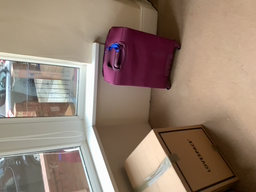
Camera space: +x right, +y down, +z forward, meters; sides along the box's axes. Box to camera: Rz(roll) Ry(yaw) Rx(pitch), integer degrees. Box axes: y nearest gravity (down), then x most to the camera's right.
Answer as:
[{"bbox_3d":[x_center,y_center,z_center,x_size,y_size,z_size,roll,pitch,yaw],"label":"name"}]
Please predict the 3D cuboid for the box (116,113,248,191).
[{"bbox_3d":[0.350,0.530,1.570,0.520,0.540,0.590,-58,46,35],"label":"box"}]
